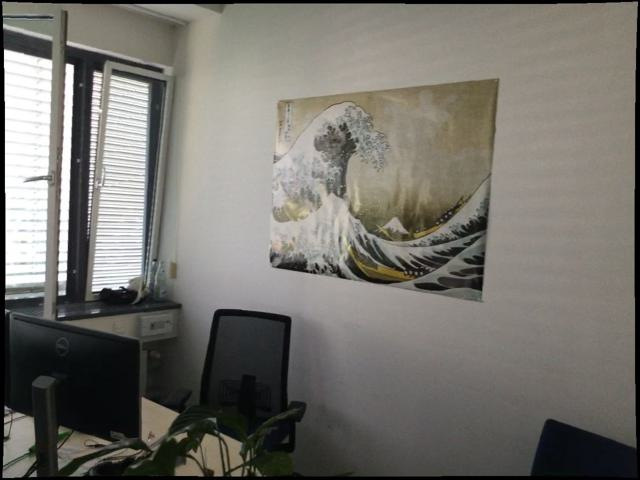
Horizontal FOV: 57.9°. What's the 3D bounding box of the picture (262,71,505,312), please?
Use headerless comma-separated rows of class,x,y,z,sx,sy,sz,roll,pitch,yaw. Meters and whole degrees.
picture,0.210,-0.260,2.840,1.349,0.971,0.120,9,9,44
